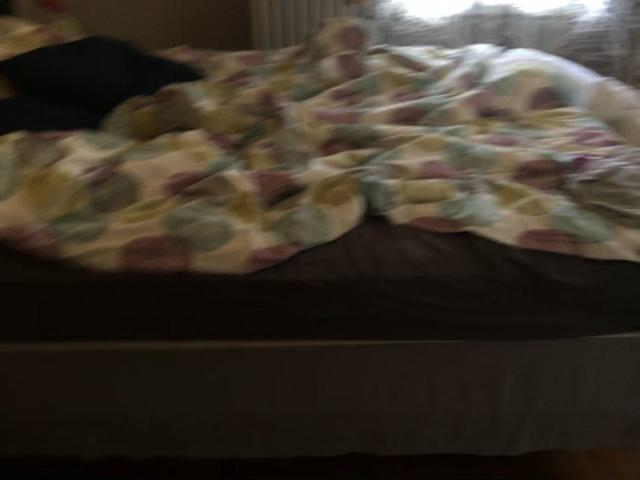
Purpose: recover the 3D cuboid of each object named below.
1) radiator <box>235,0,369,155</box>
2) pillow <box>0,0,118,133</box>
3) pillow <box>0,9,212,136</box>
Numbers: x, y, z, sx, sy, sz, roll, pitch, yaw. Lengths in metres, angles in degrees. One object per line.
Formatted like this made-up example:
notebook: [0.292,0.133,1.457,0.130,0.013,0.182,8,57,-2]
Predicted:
radiator: [-0.080,-0.970,3.020,0.630,0.950,0.340,-3,33,-1]
pillow: [-1.000,-0.640,1.920,0.400,0.280,0.800,-3,33,-1]
pillow: [-0.700,-0.590,1.950,0.570,0.200,0.670,-3,33,-1]
